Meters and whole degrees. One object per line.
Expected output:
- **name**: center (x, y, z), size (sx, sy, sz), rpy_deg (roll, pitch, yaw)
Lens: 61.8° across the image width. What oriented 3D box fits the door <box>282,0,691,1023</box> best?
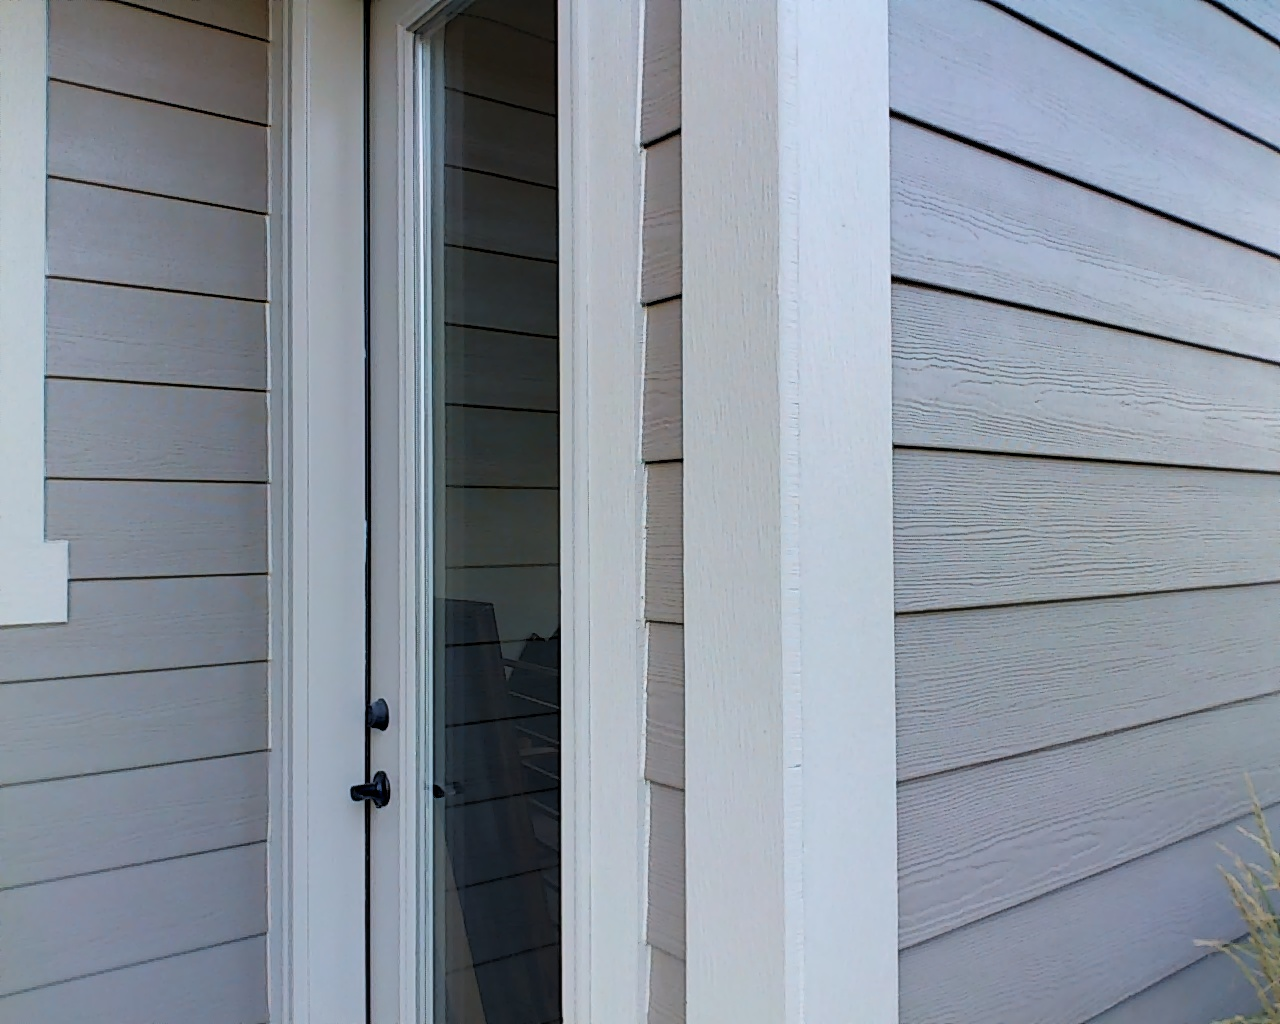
- **door**: center (-0.300, 0.190, 1.700), size (0.210, 2.410, 0.910), rpy_deg (0, -1, -38)
